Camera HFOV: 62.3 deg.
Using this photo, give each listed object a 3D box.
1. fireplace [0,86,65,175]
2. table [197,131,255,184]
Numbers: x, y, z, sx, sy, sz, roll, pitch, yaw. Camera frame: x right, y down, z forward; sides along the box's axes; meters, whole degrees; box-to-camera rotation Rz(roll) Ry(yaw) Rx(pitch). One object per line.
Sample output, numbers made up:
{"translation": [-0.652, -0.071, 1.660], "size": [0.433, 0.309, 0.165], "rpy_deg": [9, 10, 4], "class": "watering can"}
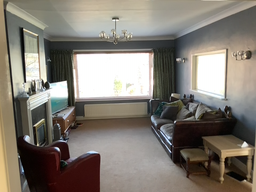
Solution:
{"translation": [-1.590, 0.490, 3.790], "size": [0.510, 1.180, 1.380], "rpy_deg": [-2, 9, -3], "class": "fireplace"}
{"translation": [1.440, 0.880, 3.160], "size": [0.560, 0.500, 0.640], "rpy_deg": [-2, 9, -5], "class": "table"}
